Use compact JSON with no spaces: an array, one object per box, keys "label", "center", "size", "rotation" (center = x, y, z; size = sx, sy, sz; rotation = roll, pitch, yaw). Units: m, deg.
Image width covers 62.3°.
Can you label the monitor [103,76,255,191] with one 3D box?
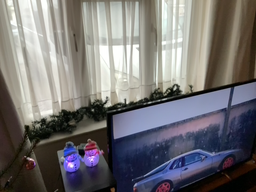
[{"label":"monitor","center":[0.390,0.260,1.200],"size":[1.080,0.620,0.050],"rotation":[-11,23,-25]}]

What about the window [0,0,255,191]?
[{"label":"window","center":[0.040,-0.390,1.220],"size":[2.140,1.420,0.690],"rotation":[-10,23,-23]}]
